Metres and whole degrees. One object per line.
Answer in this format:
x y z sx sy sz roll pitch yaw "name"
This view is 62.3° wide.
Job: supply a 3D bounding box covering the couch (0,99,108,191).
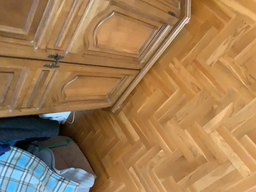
-1.050 0.760 2.050 1.040 1.020 0.960 47 121 29 "couch"
